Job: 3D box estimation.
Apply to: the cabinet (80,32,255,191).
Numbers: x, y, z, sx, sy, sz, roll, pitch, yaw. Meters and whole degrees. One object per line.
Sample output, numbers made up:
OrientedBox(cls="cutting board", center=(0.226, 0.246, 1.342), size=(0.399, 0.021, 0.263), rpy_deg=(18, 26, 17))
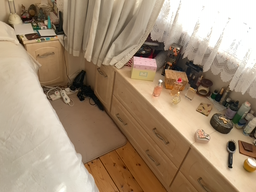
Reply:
OrientedBox(cls="cabinet", center=(0.360, 0.280, 1.550), size=(0.520, 0.560, 2.150), rpy_deg=(-19, 48, -31))
